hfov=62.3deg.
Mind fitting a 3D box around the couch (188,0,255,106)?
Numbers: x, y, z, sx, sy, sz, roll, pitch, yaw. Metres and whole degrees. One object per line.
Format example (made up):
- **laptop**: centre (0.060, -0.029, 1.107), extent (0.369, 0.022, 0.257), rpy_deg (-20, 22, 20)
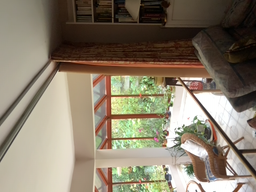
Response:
- **couch**: centre (1.140, -0.640, 1.770), extent (1.060, 0.740, 0.990), rpy_deg (-99, 11, -54)
